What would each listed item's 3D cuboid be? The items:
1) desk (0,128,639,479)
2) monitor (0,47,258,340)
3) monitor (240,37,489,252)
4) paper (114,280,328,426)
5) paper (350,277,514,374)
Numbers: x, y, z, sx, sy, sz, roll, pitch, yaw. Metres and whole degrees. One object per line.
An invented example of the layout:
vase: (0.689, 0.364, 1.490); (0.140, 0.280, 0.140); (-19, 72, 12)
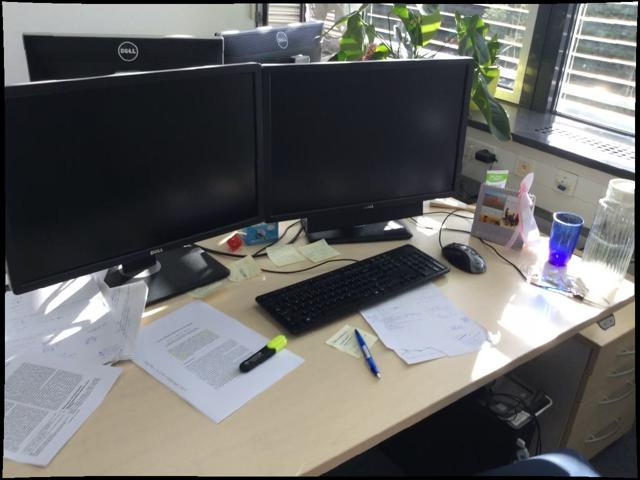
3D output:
desk: (-0.120, 0.390, 1.380); (2.089, 0.781, 0.880); (-17, 34, -31)
monitor: (-0.390, -0.120, 1.140); (0.540, 0.420, 0.160); (-23, 38, -38)
monitor: (0.100, -0.250, 1.430); (0.540, 0.430, 0.200); (-10, 31, -21)
paper: (-0.190, 0.190, 1.090); (0.330, 0.010, 0.250); (27, 37, 37)
paper: (0.220, 0.160, 1.160); (0.240, 0.010, 0.220); (-14, 32, -26)
